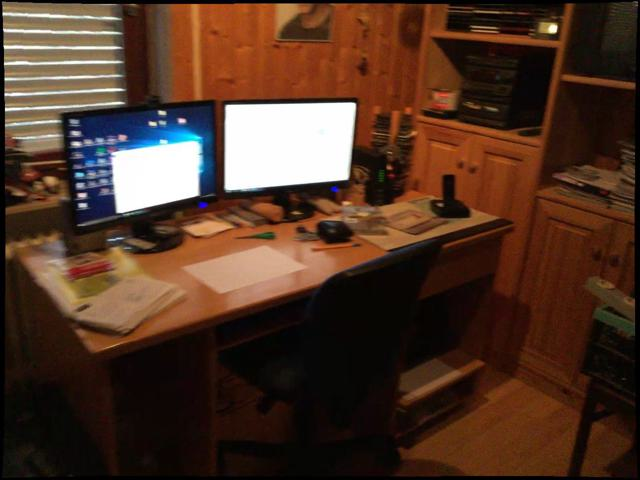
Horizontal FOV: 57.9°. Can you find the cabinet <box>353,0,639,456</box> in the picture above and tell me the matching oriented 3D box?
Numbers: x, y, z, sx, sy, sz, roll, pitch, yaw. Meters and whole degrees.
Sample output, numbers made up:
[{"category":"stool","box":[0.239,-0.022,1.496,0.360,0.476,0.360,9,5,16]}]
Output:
[{"category":"cabinet","box":[1.159,-0.470,2.280,0.670,2.222,2.109,-15,29,-37]}]

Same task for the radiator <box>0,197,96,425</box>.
[{"category":"radiator","box":[-1.219,0.290,2.040,0.690,0.741,0.240,-15,29,-37]}]

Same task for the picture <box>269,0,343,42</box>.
[{"category":"picture","box":[-0.050,-1.051,2.390,0.330,0.430,0.070,-15,29,-37]}]
